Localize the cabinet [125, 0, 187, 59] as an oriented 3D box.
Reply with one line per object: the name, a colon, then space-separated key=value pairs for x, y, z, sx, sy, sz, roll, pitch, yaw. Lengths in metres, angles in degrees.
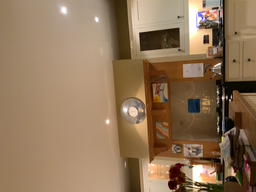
cabinet: x=0.480 y=-1.190 z=3.500 sx=0.350 sy=0.930 sz=1.070 roll=-36 pitch=-57 yaw=-68
